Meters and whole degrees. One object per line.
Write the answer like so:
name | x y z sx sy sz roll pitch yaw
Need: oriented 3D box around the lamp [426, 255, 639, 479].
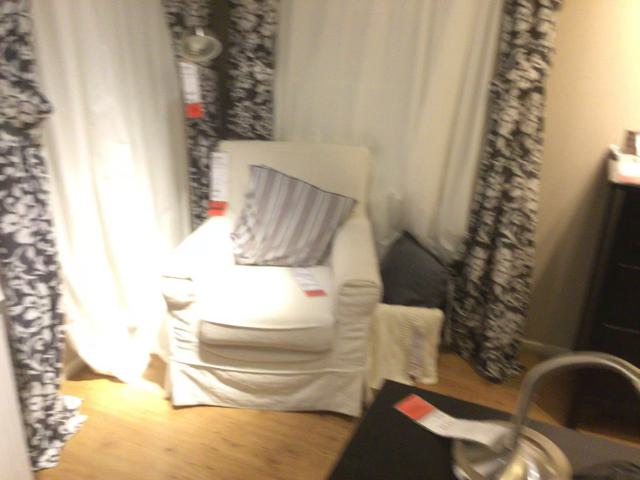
lamp | 0.360 0.230 0.850 0.340 0.310 0.220 10 23 24
